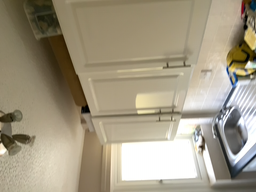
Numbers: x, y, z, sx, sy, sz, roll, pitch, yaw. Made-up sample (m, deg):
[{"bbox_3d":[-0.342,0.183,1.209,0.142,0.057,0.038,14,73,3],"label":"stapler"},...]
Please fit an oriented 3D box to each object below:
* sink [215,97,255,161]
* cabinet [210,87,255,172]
[{"bbox_3d":[1.020,0.310,1.930,0.430,0.220,0.410,87,-179,-52],"label":"sink"},{"bbox_3d":[1.360,0.310,1.960,0.580,0.900,0.560,87,-179,-52],"label":"cabinet"}]
